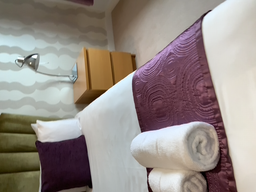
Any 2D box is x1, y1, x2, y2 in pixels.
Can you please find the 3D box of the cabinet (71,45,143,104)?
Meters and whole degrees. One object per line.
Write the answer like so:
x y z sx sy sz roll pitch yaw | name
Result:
-0.240 -0.180 2.170 0.520 0.550 0.420 -29 64 59 | cabinet
